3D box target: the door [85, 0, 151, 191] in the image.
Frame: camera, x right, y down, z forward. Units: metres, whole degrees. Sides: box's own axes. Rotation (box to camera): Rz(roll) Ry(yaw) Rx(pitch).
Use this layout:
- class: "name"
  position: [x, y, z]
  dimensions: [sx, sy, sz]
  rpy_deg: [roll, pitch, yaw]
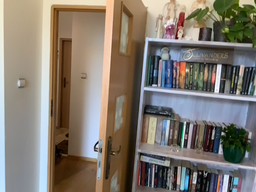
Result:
- class: "door"
  position: [-0.060, 0.370, 1.490]
  dimensions: [0.120, 2.120, 0.840]
  rpy_deg: [7, 9, 13]

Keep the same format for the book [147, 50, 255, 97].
- class: "book"
  position: [0.560, -0.180, 1.630]
  dimensions: [0.790, 0.270, 0.190]
  rpy_deg: [6, 9, 11]

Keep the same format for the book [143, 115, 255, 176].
- class: "book"
  position: [0.510, 0.340, 1.580]
  dimensions: [0.740, 0.220, 0.380]
  rpy_deg: [6, 9, 10]
